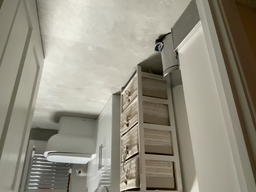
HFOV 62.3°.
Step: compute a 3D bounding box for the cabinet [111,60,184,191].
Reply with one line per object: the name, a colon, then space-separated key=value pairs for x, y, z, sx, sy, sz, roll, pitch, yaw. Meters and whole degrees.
cabinet: x=0.090 y=0.230 z=1.460 sx=0.320 sy=0.830 sz=0.370 roll=8 pitch=153 yaw=-18
